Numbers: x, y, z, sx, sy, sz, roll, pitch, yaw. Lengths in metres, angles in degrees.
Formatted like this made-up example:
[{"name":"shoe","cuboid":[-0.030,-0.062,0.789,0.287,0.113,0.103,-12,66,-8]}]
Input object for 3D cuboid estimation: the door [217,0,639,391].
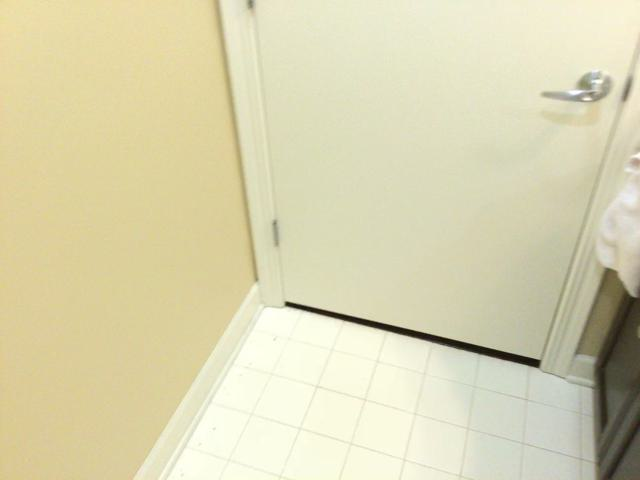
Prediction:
[{"name":"door","cuboid":[0.240,-0.470,1.250,1.000,2.010,0.070,12,40,16]}]
